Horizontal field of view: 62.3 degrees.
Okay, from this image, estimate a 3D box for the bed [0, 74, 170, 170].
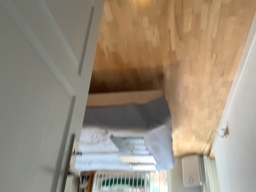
[{"bbox_3d":[-0.520,0.490,2.760,2.050,0.570,1.610,-3,149,10],"label":"bed"}]
